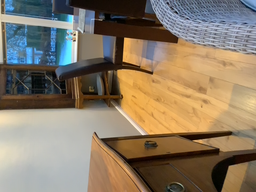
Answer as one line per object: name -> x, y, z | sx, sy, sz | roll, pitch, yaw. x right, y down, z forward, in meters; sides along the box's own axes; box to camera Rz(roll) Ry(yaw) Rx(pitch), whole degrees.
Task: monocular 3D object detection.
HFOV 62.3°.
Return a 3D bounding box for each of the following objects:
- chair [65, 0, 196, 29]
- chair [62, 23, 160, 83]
chair -> 0.010, -0.800, 1.680 | 0.510, 0.900, 0.390 | -148, 61, -62
chair -> -0.190, -0.430, 2.160 | 0.380, 0.880, 0.480 | -141, 55, -62
